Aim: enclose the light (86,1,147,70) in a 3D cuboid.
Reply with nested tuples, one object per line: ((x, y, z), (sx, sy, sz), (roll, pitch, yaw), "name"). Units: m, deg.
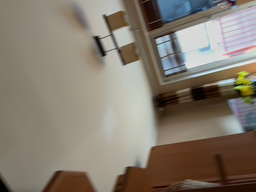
((-0.070, -0.660, 2.250), (0.430, 0.730, 0.410), (-8, -57, 15), "light")
